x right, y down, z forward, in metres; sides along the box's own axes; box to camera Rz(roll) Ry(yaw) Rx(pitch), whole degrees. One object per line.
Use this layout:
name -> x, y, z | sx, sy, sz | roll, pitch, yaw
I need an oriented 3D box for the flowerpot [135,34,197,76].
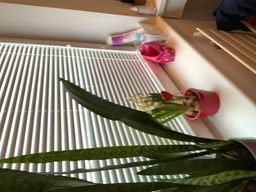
flowerpot -> 0.210, -0.240, 1.230 | 0.220, 0.260, 0.140 | -114, 30, -49
